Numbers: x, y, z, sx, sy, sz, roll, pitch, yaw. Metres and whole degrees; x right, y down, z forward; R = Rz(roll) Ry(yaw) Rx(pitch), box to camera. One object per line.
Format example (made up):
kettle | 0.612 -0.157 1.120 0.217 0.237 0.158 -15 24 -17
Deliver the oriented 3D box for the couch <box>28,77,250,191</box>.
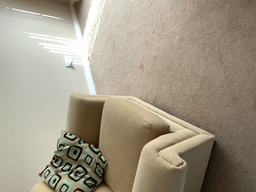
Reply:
couch | -0.090 0.490 1.460 1.160 0.840 0.970 28 113 50
